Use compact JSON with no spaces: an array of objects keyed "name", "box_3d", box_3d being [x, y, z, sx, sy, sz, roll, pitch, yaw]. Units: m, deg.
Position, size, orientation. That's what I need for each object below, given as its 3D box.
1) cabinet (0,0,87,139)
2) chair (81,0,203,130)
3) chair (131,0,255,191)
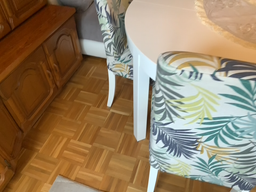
[{"name":"cabinet","box_3d":[-0.790,-0.260,1.580,0.570,0.550,0.870,13,48,12]},{"name":"chair","box_3d":[0.110,-0.320,1.340,0.540,0.970,0.480,13,48,12]},{"name":"chair","box_3d":[0.320,0.120,0.920,0.500,0.980,0.540,10,47,9]}]
